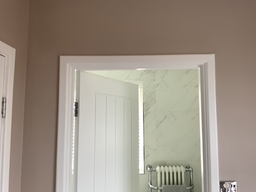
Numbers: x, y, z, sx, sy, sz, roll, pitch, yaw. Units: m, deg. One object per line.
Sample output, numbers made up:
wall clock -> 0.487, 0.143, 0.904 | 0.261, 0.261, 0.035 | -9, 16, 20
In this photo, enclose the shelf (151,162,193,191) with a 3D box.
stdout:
shelf -> 0.500, 1.300, 2.430 | 0.440, 1.020, 0.200 | -1, -5, 2
